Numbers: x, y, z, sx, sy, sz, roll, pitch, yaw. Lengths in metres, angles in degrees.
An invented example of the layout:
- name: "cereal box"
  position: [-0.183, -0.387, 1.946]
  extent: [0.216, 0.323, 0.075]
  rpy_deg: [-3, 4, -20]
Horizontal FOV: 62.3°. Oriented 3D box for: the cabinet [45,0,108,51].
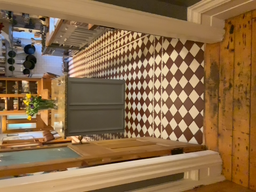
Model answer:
- name: "cabinet"
  position: [-1.190, -1.470, 4.460]
  extent: [1.910, 0.860, 0.630]
  rpy_deg: [3, 92, 63]
